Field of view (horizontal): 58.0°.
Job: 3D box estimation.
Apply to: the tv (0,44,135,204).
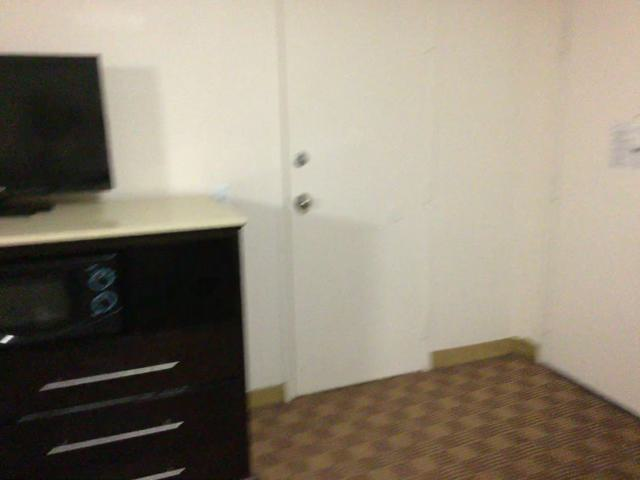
[{"bbox_3d":[-1.110,-0.380,2.000,0.800,0.480,0.220,-13,16,-21],"label":"tv"}]
